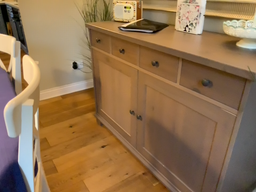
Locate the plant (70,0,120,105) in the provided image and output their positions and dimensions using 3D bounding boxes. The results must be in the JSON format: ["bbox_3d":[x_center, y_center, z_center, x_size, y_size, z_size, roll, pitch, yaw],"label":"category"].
[{"bbox_3d":[-0.330,-0.470,2.230,0.270,1.010,0.450,-19,33,-32],"label":"plant"}]
